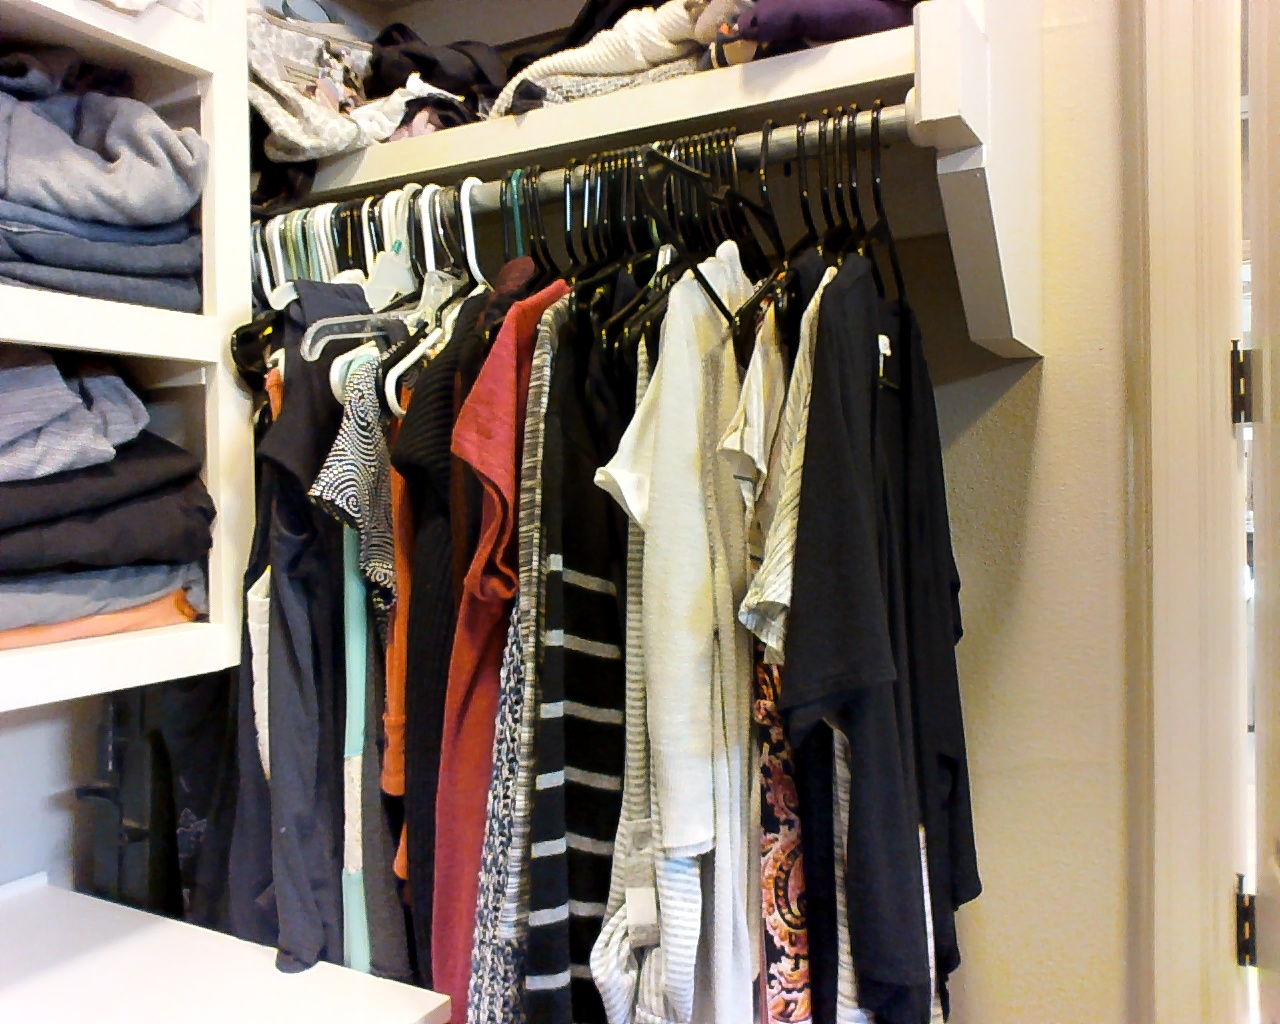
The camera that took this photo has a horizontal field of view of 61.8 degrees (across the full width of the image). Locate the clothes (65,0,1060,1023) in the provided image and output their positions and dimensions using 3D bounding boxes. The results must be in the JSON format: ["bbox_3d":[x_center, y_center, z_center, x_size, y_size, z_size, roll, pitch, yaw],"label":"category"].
[{"bbox_3d":[-0.040,0.520,1.060,0.770,1.800,0.600,0,1,30],"label":"clothes"}]

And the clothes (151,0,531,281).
[{"bbox_3d":[-0.350,-0.510,1.310,0.260,0.360,0.370,0,1,30],"label":"clothes"}]

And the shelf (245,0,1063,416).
[{"bbox_3d":[-0.020,-0.940,1.200,0.880,1.600,0.310,0,1,30],"label":"shelf"}]

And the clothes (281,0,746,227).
[{"bbox_3d":[-0.130,-0.470,1.160,0.400,0.200,0.300,0,1,29],"label":"clothes"}]
